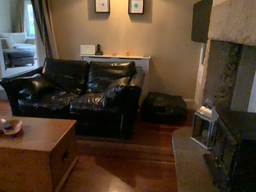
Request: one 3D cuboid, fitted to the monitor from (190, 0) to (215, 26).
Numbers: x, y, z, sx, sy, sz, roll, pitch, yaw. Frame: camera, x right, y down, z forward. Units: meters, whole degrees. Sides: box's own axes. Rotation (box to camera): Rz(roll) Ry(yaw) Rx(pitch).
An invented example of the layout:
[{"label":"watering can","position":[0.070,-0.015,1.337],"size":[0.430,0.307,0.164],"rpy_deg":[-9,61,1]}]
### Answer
[{"label":"monitor","position":[1.010,-1.260,2.890],"size":[0.050,0.550,0.920],"rpy_deg":[3,21,2]}]
